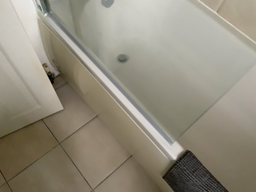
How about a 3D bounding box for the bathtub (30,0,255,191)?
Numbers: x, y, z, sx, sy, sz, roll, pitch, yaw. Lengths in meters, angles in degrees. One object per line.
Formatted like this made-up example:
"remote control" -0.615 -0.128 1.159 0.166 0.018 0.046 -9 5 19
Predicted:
"bathtub" 0.370 0.140 1.090 0.720 0.560 1.750 -36 72 -21
